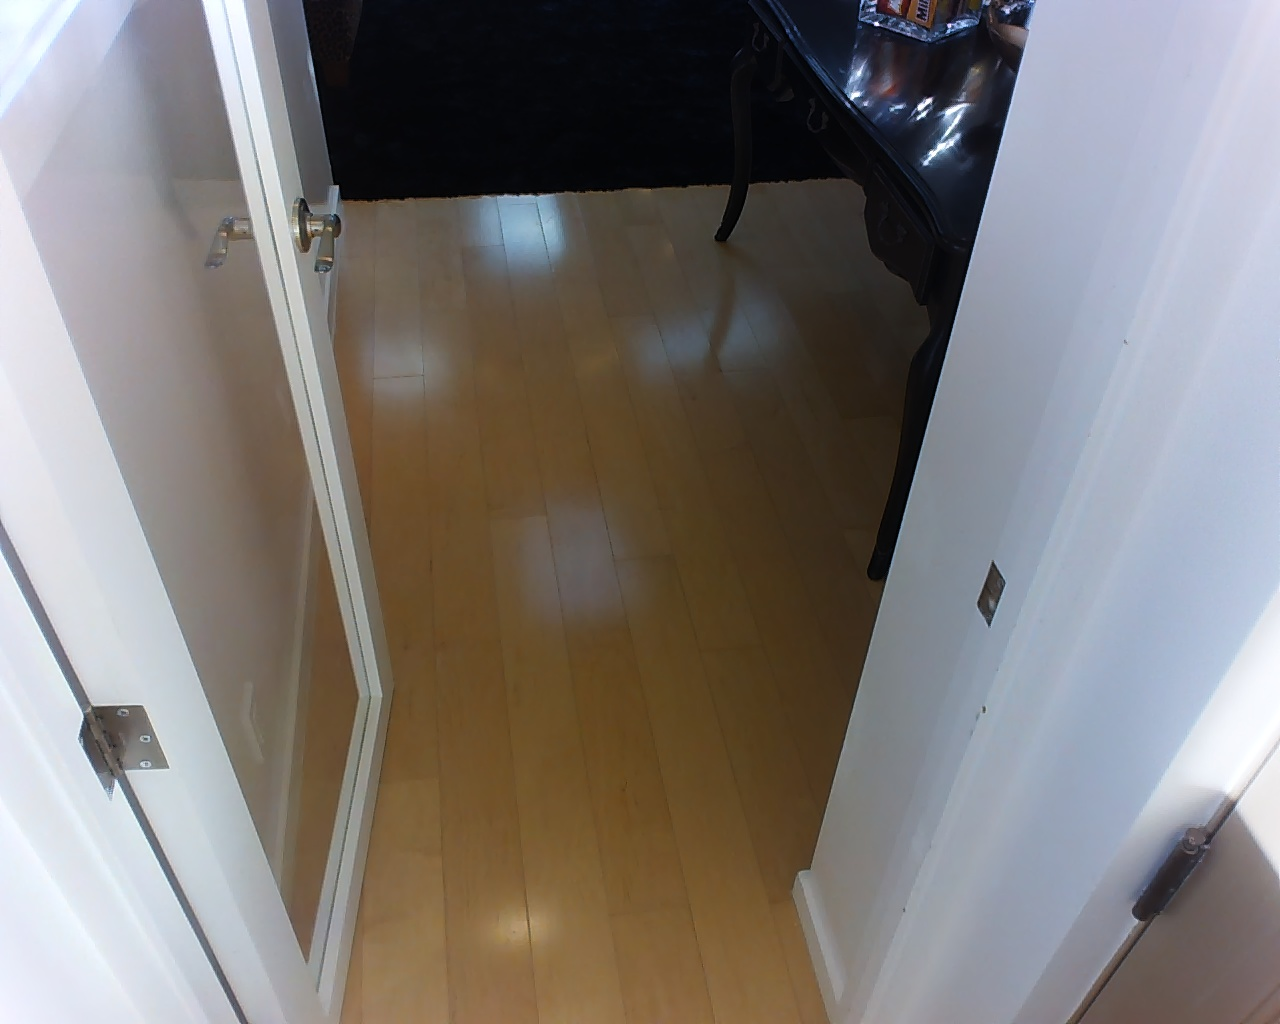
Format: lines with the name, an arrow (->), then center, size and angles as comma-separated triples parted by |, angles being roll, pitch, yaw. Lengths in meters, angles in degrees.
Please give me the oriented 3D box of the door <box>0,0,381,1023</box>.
door -> -0.460, -0.300, 0.980 | 0.080, 2.410, 0.690 | -3, 43, -6
